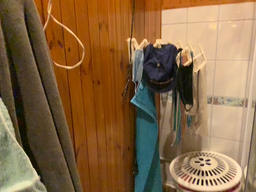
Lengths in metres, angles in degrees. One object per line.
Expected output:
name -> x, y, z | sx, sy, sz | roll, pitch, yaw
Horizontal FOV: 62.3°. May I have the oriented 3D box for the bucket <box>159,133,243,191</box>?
bucket -> 0.510, 0.710, 1.540 | 0.470, 0.680, 0.450 | 5, 16, 22
